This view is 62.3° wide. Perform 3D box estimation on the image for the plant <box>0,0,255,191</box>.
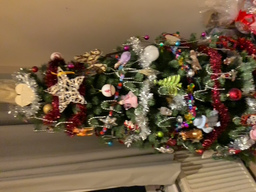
[{"bbox_3d":[0.190,-0.060,1.390,1.020,1.680,0.920,-110,27,-42],"label":"plant"}]
